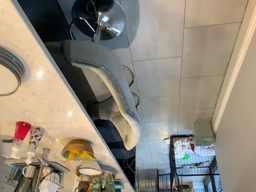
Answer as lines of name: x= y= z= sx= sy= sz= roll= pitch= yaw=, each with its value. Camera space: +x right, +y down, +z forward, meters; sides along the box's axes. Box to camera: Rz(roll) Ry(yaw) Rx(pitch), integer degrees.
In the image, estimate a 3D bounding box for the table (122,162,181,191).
table: x=0.600 y=2.100 z=4.880 sx=1.200 sy=0.720 sz=1.230 roll=-7 pitch=144 yaw=11
